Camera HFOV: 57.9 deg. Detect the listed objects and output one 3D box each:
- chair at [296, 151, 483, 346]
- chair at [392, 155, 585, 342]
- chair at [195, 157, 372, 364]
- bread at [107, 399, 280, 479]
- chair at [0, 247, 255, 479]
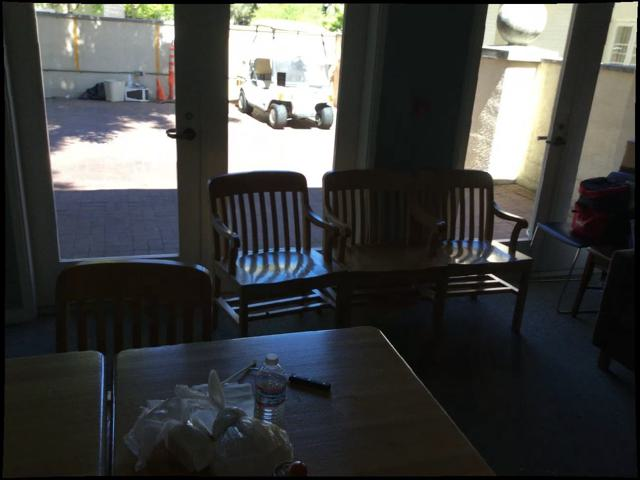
[{"bbox_3d":[0.320,0.000,3.130,0.719,0.791,0.690,-5,23,-18],"label":"chair"},{"bbox_3d":[0.899,0.010,3.280,0.699,0.811,0.650,-5,23,-18],"label":"chair"},{"bbox_3d":[-0.220,0.060,2.910,0.699,0.781,0.650,-5,23,-18],"label":"chair"},{"bbox_3d":[-0.250,0.430,1.120,0.300,0.080,0.210,-5,23,-18],"label":"bread"},{"bbox_3d":[-0.599,0.571,1.650,0.669,0.811,0.770,-5,23,-18],"label":"chair"}]
